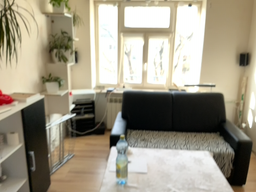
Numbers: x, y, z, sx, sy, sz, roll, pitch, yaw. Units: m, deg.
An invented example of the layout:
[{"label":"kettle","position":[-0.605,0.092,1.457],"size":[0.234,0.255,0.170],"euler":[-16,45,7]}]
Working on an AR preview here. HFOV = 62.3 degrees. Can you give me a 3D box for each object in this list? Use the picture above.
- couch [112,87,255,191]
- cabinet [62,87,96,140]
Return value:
[{"label":"couch","position":[0.590,0.490,2.800],"size":[1.470,0.990,0.960],"euler":[2,14,3]},{"label":"cabinet","position":[-0.850,0.300,3.790],"size":[0.480,0.820,0.440],"euler":[2,14,3]}]
